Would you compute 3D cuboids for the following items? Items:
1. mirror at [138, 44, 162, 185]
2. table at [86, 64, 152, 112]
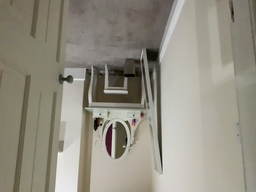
[{"bbox_3d":[0.280,0.220,2.770,0.220,1.680,0.460,1,175,-3],"label":"mirror"},{"bbox_3d":[-0.150,-0.110,3.640,1.040,0.710,0.480,1,169,-3],"label":"table"}]
